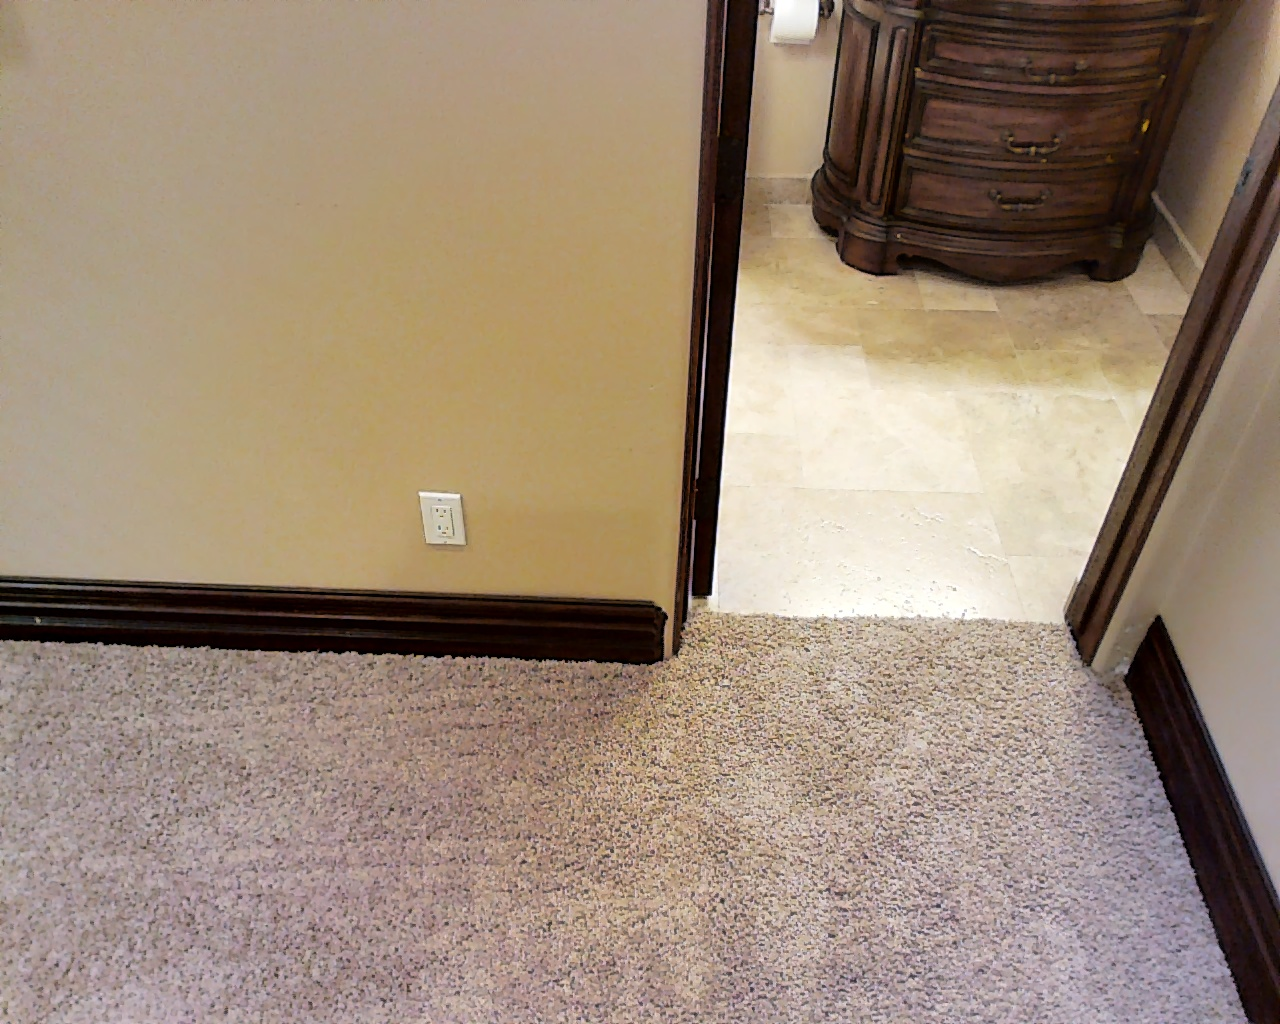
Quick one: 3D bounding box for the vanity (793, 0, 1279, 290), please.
[{"bbox_3d":[1.050,-1.199,2.960,1.120,0.960,0.580,2,42,2],"label":"vanity"}]
